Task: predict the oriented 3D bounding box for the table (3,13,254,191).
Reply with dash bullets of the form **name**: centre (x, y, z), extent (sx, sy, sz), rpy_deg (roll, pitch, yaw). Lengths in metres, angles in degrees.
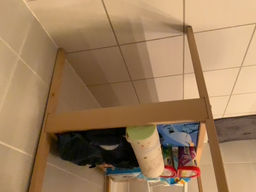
- **table**: centre (0.050, 0.320, 0.900), extent (0.610, 0.870, 0.800), rpy_deg (-6, 150, 10)
